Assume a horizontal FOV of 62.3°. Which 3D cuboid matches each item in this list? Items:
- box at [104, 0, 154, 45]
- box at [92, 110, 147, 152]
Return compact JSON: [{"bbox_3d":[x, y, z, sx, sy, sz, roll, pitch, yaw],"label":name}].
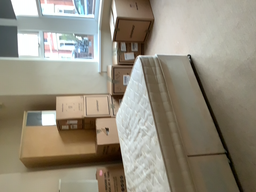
[{"bbox_3d":[-0.020,-1.130,3.130,0.530,0.590,0.470,114,152,-58],"label":"box"},{"bbox_3d":[-0.170,0.570,3.420,0.540,0.760,0.480,115,151,-59],"label":"box"}]
